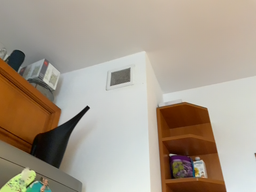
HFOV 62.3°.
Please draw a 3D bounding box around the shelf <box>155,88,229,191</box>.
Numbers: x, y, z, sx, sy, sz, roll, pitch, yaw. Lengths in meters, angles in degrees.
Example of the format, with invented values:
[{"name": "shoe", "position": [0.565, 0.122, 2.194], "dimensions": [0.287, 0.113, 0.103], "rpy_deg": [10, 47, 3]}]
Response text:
[{"name": "shelf", "position": [0.370, 0.470, 1.180], "dimensions": [0.310, 1.000, 0.310], "rpy_deg": [-12, -38, 18]}]
